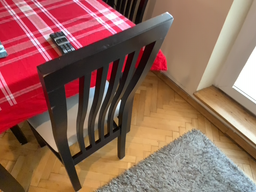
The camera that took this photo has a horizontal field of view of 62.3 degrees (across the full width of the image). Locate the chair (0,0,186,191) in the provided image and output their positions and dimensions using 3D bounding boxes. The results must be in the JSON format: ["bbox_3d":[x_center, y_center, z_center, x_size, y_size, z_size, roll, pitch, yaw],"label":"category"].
[{"bbox_3d":[-0.210,0.030,0.960,0.390,0.980,0.570,-30,57,-27],"label":"chair"}]
